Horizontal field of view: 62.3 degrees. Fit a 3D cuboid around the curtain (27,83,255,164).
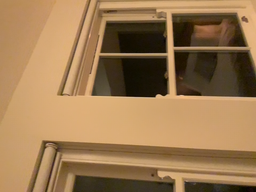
[{"bbox_3d":[0.230,0.130,1.090,0.140,1.380,0.340,85,-170,-53],"label":"curtain"}]
